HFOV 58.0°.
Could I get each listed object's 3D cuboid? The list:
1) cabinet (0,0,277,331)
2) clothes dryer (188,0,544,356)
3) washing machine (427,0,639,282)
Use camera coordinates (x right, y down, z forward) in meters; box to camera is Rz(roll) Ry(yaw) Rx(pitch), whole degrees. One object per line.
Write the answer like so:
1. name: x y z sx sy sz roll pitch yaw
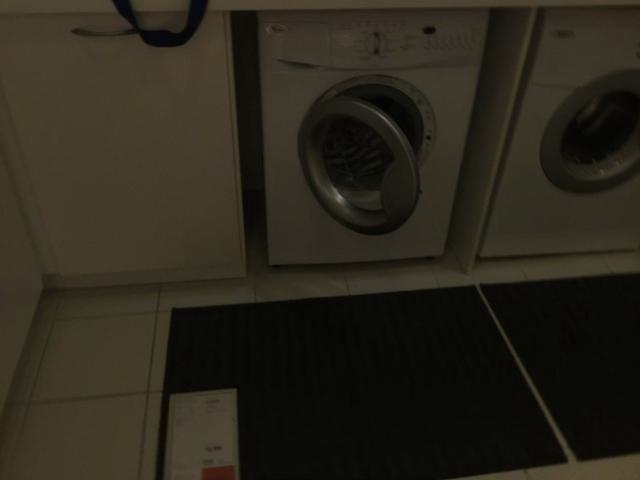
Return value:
1. cabinet: -0.520 -0.170 1.560 0.700 0.910 0.150 -6 36 -1
2. clothes dryer: 0.100 -0.250 1.710 0.730 0.870 0.680 -6 36 -1
3. washing machine: 0.800 -0.400 1.850 0.770 0.850 0.530 -6 36 -1
